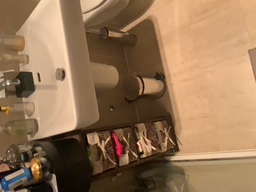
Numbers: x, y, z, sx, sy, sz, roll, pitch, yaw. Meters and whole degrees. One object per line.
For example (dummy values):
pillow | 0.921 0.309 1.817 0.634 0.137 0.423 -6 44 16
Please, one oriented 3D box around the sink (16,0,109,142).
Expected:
sink | -0.350 -0.120 1.010 0.500 0.130 0.610 -18 79 44
